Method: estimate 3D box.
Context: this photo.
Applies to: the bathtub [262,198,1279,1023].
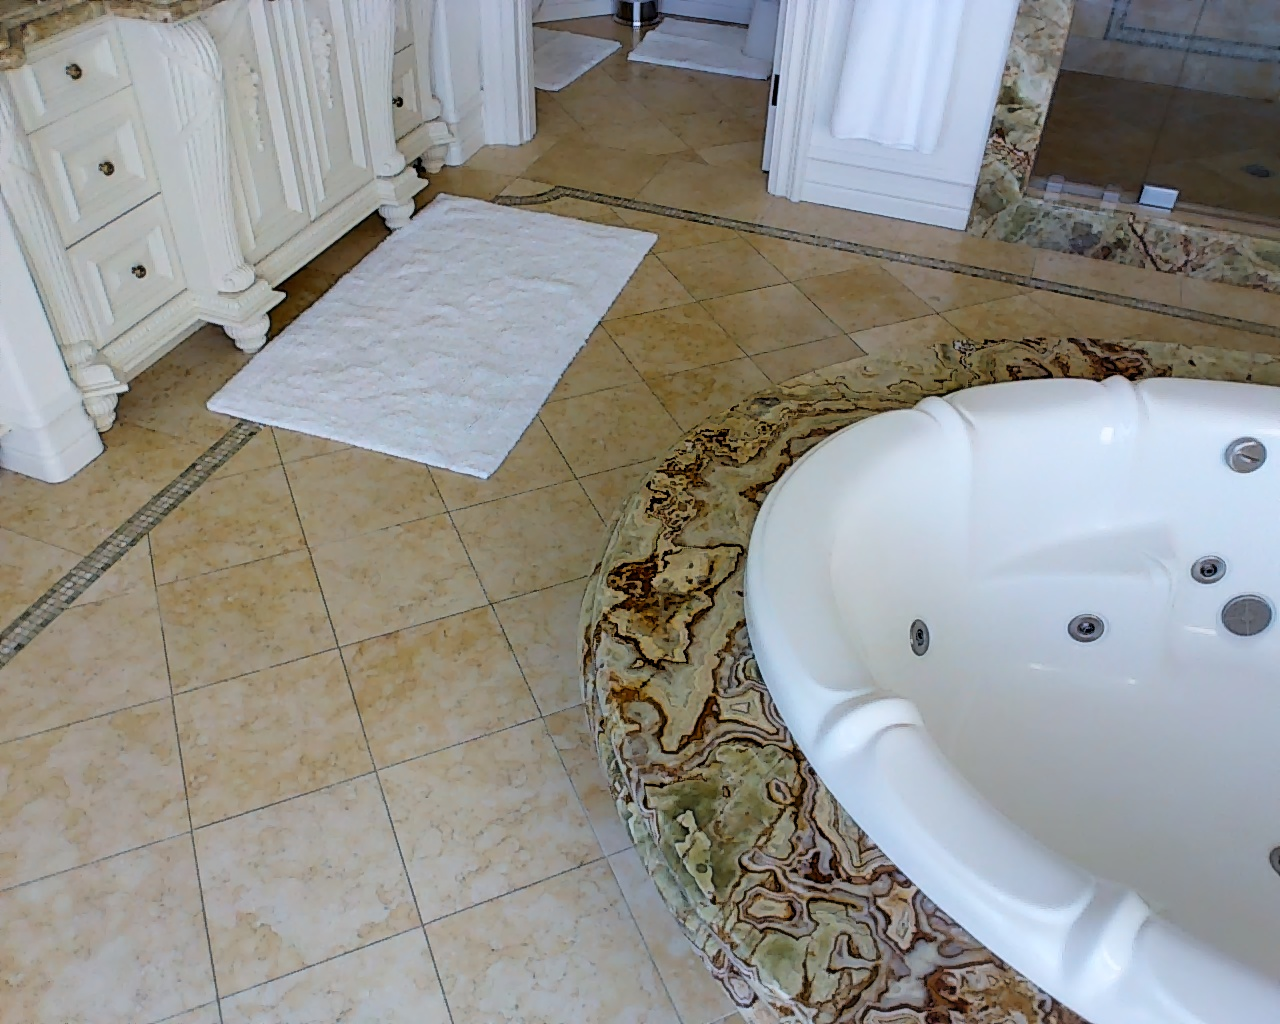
[{"bbox_3d":[1.140,0.400,1.650,2.510,0.550,1.990,15,43,15],"label":"bathtub"}]
